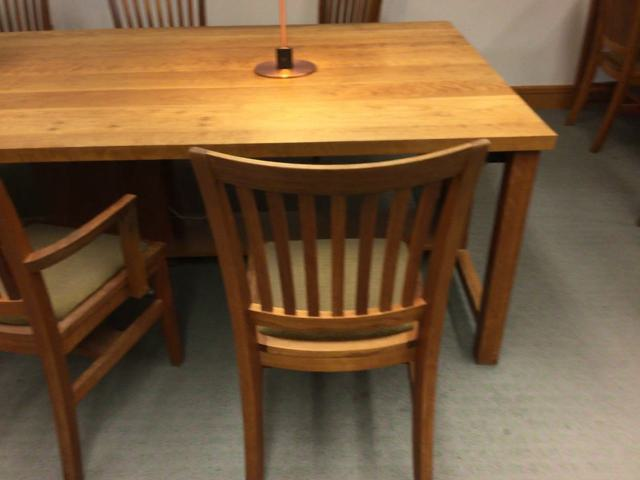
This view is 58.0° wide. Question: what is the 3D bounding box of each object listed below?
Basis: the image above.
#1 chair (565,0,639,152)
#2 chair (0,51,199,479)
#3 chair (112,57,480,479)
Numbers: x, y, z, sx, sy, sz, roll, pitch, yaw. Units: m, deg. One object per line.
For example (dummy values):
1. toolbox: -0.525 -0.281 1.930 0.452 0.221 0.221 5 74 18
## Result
1. chair: 1.590 -0.970 2.900 0.410 0.910 0.480 -3 29 2
2. chair: -0.760 0.080 1.470 0.640 0.930 0.620 -3 29 2
3. chair: -0.010 0.110 1.410 0.580 0.920 0.640 -3 29 2
